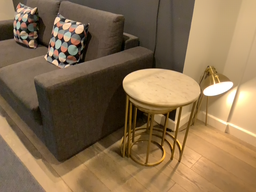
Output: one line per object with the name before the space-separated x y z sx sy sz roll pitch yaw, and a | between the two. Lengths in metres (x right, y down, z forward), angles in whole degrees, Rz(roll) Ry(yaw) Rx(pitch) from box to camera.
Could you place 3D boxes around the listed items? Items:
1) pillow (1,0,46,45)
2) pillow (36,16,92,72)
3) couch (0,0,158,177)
pillow | -1.120 -0.760 2.260 0.170 0.390 0.440 -34 31 -33
pillow | -0.560 -0.450 1.850 0.180 0.390 0.420 -34 31 -30
couch | -0.860 -0.420 2.140 1.010 0.980 2.030 -25 40 -38
